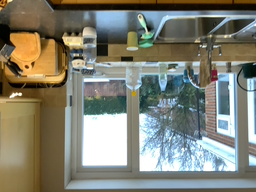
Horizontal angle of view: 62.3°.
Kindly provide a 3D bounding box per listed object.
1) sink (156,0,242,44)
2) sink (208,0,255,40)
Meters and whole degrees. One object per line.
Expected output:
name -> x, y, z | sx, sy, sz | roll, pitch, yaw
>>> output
sink -> 0.420, -0.540, 1.420 | 0.390, 0.230, 0.530 | 0, 178, -1
sink -> 0.730, -0.540, 1.410 | 0.240, 0.230, 0.380 | 0, 178, -1
